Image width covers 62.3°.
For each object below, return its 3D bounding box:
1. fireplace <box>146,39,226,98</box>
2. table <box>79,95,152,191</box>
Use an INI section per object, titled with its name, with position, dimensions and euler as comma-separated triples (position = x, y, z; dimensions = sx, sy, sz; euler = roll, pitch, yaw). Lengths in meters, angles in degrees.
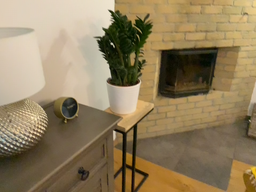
[fireplace]
position = 0.620, -0.330, 2.390
dimensions = 0.690, 0.520, 0.420
euler = -6, 25, -16
[table]
position = -0.080, 0.420, 1.620
dimensions = 0.320, 0.700, 0.440
euler = 15, 27, 27
